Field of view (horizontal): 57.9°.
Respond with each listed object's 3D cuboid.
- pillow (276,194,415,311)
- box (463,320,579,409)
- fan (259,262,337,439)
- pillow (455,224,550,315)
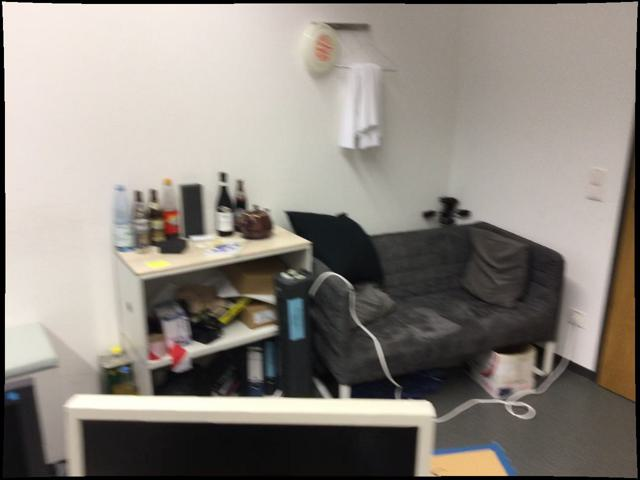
[{"bbox_3d":[0.130,0.040,2.980,0.570,0.400,0.410,-12,21,-30],"label":"pillow"},{"bbox_3d":[0.999,0.611,2.890,0.460,0.240,0.280,-9,20,-22],"label":"box"},{"bbox_3d":[-0.090,0.480,2.550,0.240,0.701,0.230,-12,21,-30],"label":"fan"},{"bbox_3d":[0.949,0.140,3.060,0.230,0.320,0.460,-7,19,-18],"label":"pillow"}]
